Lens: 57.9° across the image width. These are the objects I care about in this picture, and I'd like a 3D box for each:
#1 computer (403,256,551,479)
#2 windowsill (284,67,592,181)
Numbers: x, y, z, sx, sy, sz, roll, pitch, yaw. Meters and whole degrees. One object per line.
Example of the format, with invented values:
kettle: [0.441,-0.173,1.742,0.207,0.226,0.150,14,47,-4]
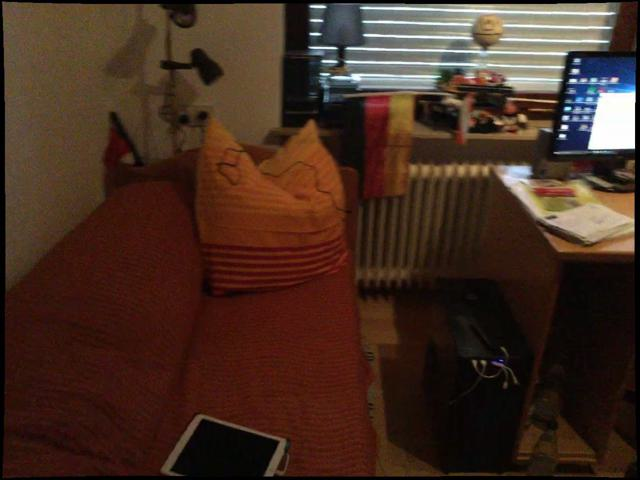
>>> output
computer: [0.499,0.410,1.930,0.290,0.470,0.550,-10,26,-1]
windowsill: [0.460,-0.490,2.390,1.189,0.200,0.300,-10,26,-1]
